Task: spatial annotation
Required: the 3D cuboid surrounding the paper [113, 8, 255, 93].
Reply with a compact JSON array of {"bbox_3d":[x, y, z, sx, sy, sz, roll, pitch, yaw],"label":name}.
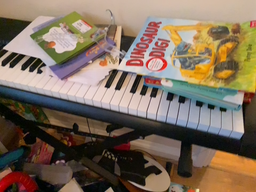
[{"bbox_3d":[0.150,-0.130,0.520,0.310,0.040,0.220,13,49,13],"label":"paper"}]
